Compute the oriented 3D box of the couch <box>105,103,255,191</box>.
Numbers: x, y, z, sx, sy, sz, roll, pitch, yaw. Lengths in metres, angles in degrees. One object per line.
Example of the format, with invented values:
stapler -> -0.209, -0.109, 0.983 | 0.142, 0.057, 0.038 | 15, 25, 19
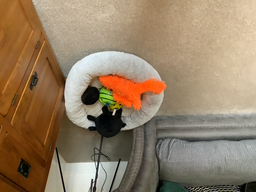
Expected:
couch -> 0.740, 0.700, 1.870 | 1.680, 0.750, 1.100 | -3, 142, 4
